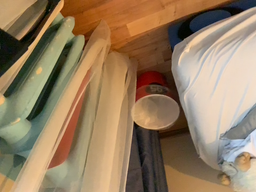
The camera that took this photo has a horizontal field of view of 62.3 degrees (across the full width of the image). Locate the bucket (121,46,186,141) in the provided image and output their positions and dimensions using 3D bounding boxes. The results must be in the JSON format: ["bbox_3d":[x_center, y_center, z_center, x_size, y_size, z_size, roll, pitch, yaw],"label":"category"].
[{"bbox_3d":[0.140,0.000,1.120,0.220,0.230,0.410,-14,129,12],"label":"bucket"}]
